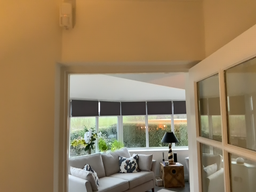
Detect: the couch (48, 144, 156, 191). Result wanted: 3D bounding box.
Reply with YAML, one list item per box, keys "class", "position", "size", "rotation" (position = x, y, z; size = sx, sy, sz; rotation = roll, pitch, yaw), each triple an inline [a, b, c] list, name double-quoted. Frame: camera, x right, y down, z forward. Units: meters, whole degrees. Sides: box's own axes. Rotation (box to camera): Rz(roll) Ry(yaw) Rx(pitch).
- class: "couch"
  position: [-0.440, 1.650, 4.470]
  size: [1.110, 0.900, 2.030]
  rotation: [-4, -6, 39]
